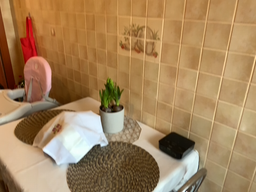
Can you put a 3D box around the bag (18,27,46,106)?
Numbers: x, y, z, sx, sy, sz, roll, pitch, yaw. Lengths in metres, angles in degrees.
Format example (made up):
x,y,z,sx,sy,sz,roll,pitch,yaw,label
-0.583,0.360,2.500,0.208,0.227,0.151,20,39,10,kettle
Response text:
x,y,z,sx,sy,sz,roll,pitch,yaw,label
-0.930,-0.280,2.070,0.100,0.740,0.180,-19,31,-39,bag

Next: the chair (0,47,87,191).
x,y,z,sx,sy,sz,roll,pitch,yaw,label
-0.820,0.200,1.670,0.590,1.000,0.720,22,31,39,chair
